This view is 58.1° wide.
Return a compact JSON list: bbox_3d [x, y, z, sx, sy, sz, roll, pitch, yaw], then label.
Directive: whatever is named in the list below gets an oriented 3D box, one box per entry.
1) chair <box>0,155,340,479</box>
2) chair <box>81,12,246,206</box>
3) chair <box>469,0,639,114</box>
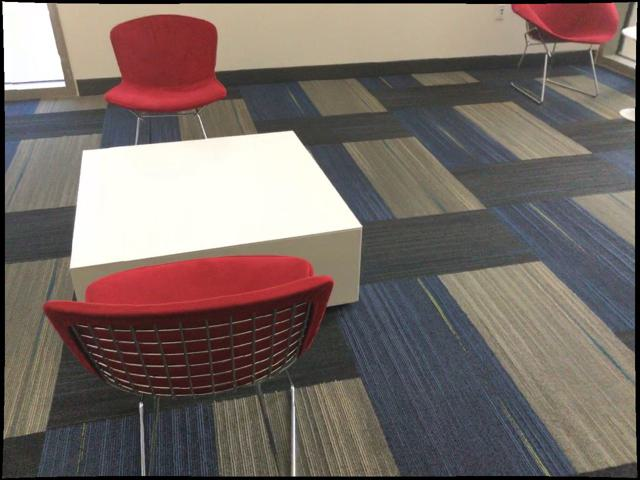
[{"bbox_3d":[-0.289,0.271,1.370,0.549,0.721,0.560,-7,34,-10],"label":"chair"},{"bbox_3d":[-0.748,-0.672,2.860,0.619,0.711,0.640,-8,34,-12],"label":"chair"},{"bbox_3d":[1.706,-1.444,4.070,0.828,0.711,0.991,-8,34,-12],"label":"chair"}]
